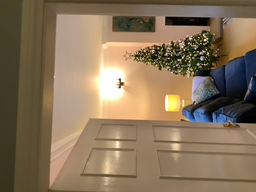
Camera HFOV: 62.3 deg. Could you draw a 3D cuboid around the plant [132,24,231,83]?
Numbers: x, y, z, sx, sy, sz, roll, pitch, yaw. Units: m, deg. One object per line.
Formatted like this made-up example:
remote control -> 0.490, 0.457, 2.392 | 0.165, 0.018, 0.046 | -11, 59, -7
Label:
plant -> 0.930, -0.760, 4.150 | 1.010, 1.650, 0.890 | 65, -153, -90
